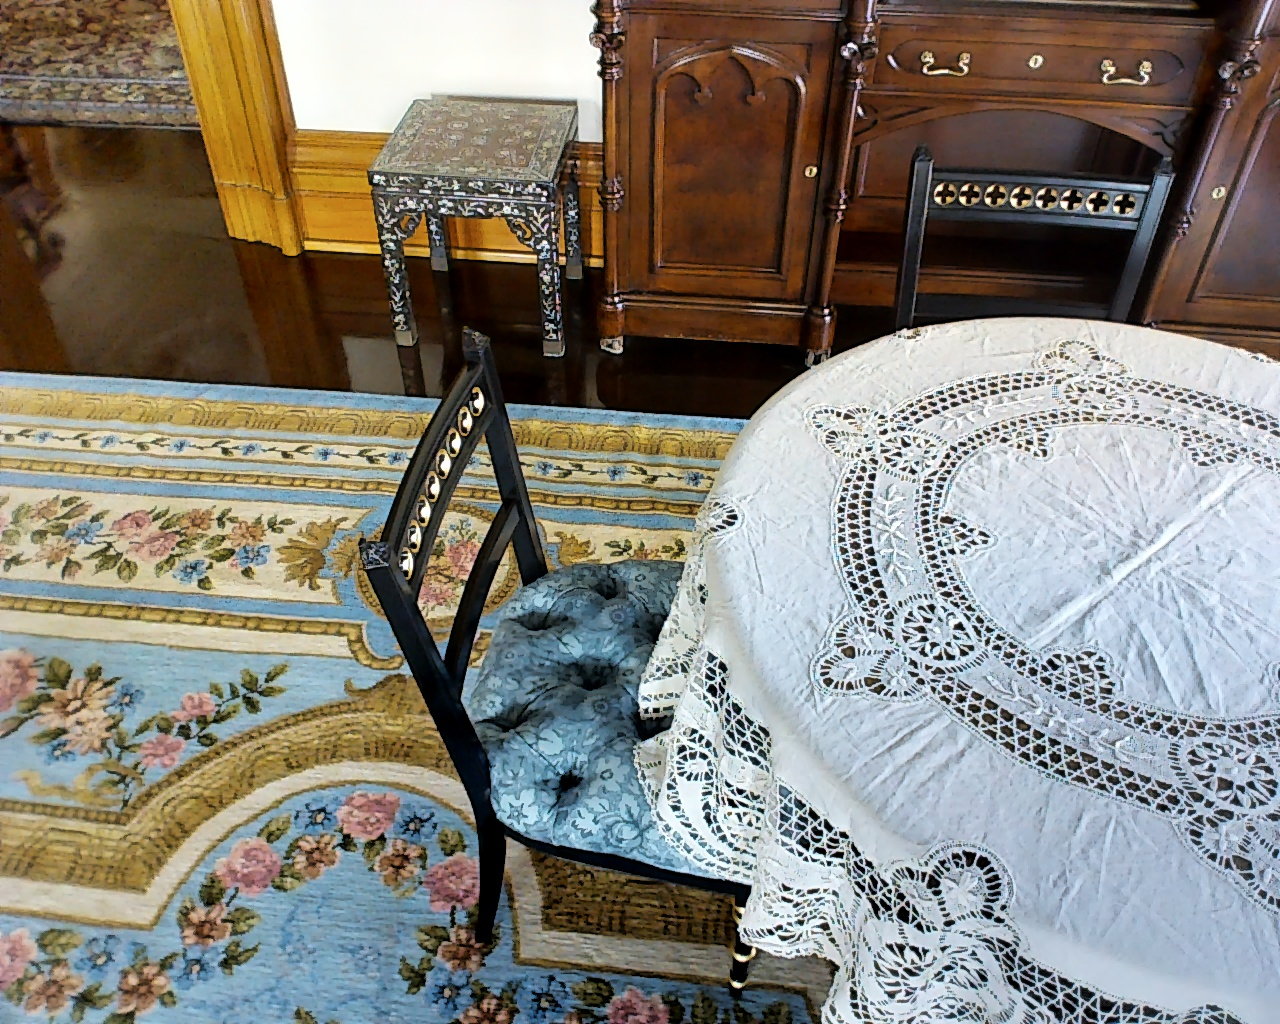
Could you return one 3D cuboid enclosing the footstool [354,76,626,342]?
[{"bbox_3d":[-0.360,-0.820,2.880,0.580,0.470,0.540,4,42,5],"label":"footstool"}]

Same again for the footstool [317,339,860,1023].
[{"bbox_3d":[-0.020,0.230,1.510,0.520,0.680,0.570,9,43,9],"label":"footstool"}]
